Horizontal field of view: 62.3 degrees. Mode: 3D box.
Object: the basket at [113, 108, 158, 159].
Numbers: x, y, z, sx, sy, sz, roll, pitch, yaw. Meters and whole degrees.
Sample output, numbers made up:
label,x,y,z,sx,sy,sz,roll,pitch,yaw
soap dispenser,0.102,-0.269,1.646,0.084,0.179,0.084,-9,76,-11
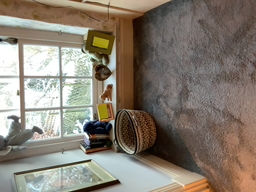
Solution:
label,x,y,z,sx,sy,sz,roll,pitch,yaw
basket,0.050,0.280,1.700,0.310,0.220,0.320,6,97,58
